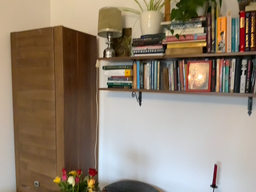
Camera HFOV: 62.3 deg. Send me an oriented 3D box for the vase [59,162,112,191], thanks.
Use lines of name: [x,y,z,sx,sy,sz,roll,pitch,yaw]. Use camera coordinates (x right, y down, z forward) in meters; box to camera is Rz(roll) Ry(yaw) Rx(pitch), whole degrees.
vase: [-0.230,0.600,1.170,0.210,0.380,0.190,4,5,24]
